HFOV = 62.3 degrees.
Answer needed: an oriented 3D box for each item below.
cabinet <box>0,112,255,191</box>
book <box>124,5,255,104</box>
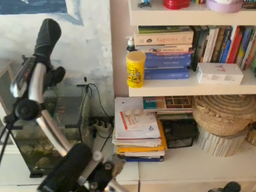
[{"bbox_3d":[-0.550,0.450,1.320,3.610,0.400,0.510,-1,39,-2],"label":"cabinet"},{"bbox_3d":[0.550,-0.200,0.980,1.130,0.330,0.310,-1,39,-2],"label":"book"}]
